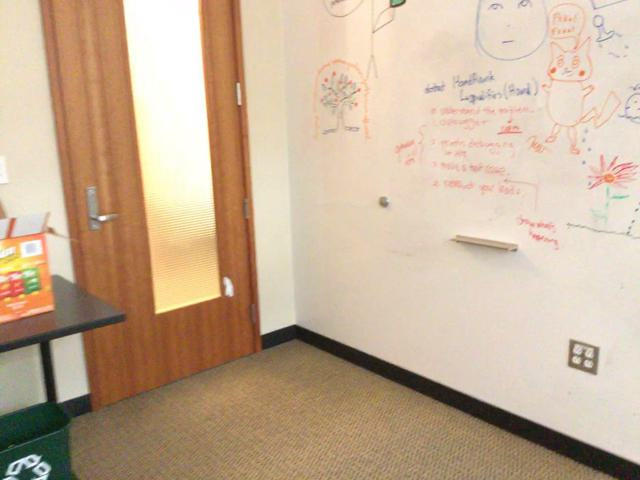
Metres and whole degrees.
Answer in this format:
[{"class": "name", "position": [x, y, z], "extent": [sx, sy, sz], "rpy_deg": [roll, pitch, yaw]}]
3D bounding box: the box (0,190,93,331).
[{"class": "box", "position": [-1.210, 0.050, 2.140], "extent": [0.460, 0.420, 0.680], "rpy_deg": [-10, 11, -38]}]

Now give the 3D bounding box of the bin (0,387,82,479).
[{"class": "bin", "position": [-1.140, 0.820, 2.000], "extent": [0.490, 0.390, 0.400], "rpy_deg": [-10, 11, -38]}]
